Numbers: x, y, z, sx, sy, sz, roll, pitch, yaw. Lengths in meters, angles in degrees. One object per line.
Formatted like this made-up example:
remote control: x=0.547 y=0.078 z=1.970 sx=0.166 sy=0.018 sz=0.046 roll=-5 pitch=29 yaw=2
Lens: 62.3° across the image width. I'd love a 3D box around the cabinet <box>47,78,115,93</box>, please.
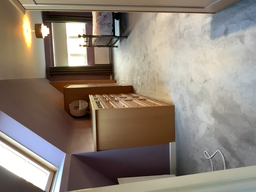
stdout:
cabinet: x=-1.540 y=-0.390 z=7.140 sx=0.960 sy=2.090 sz=0.370 roll=-156 pitch=64 yaw=-76
